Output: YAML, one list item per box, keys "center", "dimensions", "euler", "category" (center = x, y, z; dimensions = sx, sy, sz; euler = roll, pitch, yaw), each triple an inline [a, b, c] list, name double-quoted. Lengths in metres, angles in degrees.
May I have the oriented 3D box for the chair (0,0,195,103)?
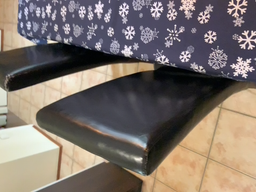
- center: [-0.130, -0.390, 1.230]
  dimensions: [0.430, 1.090, 0.640]
  euler: [27, 111, 35]
  category: "chair"

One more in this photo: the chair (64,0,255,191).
- center: [0.330, -0.170, 0.890]
  dimensions: [0.430, 1.070, 0.630]
  euler: [12, 101, 38]
  category: "chair"
